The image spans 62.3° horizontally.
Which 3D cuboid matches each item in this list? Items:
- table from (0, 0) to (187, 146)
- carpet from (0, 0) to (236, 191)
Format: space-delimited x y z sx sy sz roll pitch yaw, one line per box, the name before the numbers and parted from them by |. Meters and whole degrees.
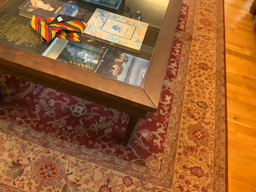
table | -0.130 -0.520 1.310 0.850 0.480 1.320 21 54 2
carpet | -0.120 -0.470 1.560 1.770 0.220 2.460 20 54 2
